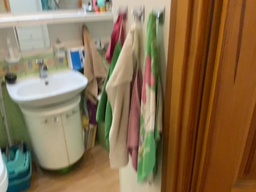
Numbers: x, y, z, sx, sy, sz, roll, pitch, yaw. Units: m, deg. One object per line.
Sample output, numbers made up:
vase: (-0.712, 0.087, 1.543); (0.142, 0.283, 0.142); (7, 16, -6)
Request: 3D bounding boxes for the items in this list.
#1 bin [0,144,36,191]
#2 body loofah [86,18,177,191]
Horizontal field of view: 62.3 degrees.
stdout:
bin: (-0.880, 0.630, 1.690); (0.170, 0.320, 0.340); (-16, 28, -31)
body loofah: (0.000, 0.050, 0.740); (0.120, 0.590, 0.290); (-16, 28, -31)
